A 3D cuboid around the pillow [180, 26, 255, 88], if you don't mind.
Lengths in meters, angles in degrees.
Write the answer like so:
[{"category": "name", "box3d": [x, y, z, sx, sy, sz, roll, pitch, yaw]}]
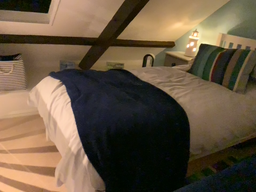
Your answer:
[{"category": "pillow", "box3d": [0.780, -0.310, 1.900, 0.190, 0.390, 0.590, -5, -4, -32]}]
